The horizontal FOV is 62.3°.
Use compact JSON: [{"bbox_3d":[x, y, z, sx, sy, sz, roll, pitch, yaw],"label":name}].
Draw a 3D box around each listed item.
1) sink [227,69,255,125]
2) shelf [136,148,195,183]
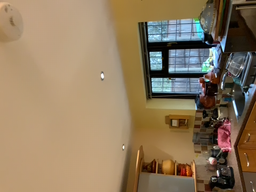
[{"bbox_3d":[1.390,0.010,2.540,0.450,0.210,0.500,79,-164,-45],"label":"sink"},{"bbox_3d":[0.540,1.020,3.110,0.330,0.790,0.320,79,-164,-45],"label":"shelf"}]
